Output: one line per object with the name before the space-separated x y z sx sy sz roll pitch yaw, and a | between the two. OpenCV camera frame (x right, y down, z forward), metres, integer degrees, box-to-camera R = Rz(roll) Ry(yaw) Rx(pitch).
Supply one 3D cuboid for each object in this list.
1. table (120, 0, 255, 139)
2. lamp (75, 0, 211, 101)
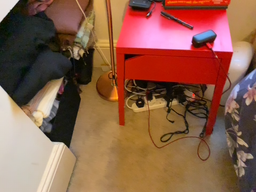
table | 0.220 -0.150 0.960 0.380 0.540 0.450 5 54 9
lamp | 0.060 -0.390 0.830 0.470 1.080 0.210 2 54 8
